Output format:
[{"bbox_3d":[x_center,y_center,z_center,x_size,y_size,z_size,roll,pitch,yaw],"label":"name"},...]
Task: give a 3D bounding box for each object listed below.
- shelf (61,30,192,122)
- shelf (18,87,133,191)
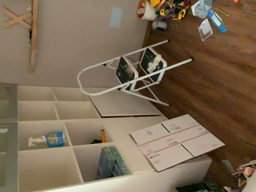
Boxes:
[{"bbox_3d":[0.000,-0.220,2.230,0.940,0.910,0.430,36,111,32],"label":"shelf"},{"bbox_3d":[-0.610,0.390,1.920,1.440,0.680,0.400,45,129,53],"label":"shelf"}]
